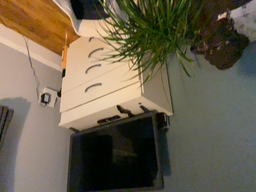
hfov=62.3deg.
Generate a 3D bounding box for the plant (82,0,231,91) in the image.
[{"bbox_3d":[0.110,-0.510,1.060,0.430,0.760,0.470,-25,147,38],"label":"plant"}]
